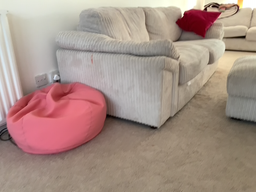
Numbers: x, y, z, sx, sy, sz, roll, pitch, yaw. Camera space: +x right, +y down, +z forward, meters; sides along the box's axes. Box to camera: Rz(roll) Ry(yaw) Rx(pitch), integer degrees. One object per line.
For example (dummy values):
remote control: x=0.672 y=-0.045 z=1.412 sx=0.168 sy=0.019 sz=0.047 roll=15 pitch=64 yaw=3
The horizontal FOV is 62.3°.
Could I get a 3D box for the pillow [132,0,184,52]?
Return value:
pillow: x=0.400 y=-0.880 z=2.600 sx=0.200 sy=0.480 sz=0.810 roll=27 pitch=11 yaw=25
